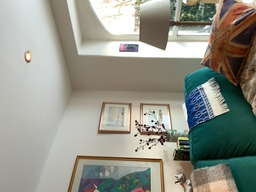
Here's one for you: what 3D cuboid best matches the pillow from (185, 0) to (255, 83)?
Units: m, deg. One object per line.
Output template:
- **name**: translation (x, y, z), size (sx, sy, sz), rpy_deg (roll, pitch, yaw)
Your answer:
- **pillow**: translation (0.790, -0.440, 1.670), size (0.220, 0.480, 0.560), rpy_deg (48, 141, 33)
